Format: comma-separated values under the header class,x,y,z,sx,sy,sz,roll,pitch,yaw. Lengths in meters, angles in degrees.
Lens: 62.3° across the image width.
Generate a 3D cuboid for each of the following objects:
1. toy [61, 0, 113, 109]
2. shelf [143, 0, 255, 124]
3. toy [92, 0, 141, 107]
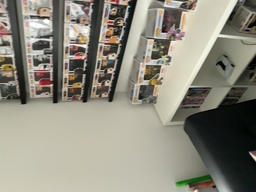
class,x,y,z,sx,sy,sz,roll,pitch,yaw
toy,-0.190,-0.630,1.050,0.190,0.230,1.720,-113,30,-45
shelf,0.710,-0.470,1.350,1.460,0.760,0.420,108,152,-42
toy,0.000,-0.650,1.130,0.190,0.140,1.810,-112,29,-43
